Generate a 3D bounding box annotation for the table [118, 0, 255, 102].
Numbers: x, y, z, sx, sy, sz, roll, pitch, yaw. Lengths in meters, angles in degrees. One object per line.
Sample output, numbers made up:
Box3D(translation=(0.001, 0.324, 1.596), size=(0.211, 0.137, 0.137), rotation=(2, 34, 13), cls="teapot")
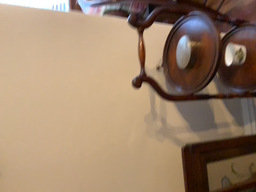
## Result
Box3D(translation=(0.390, -0.130, 0.770), size=(0.270, 0.790, 0.240), rotation=(-18, 76, 62), cls="table")
